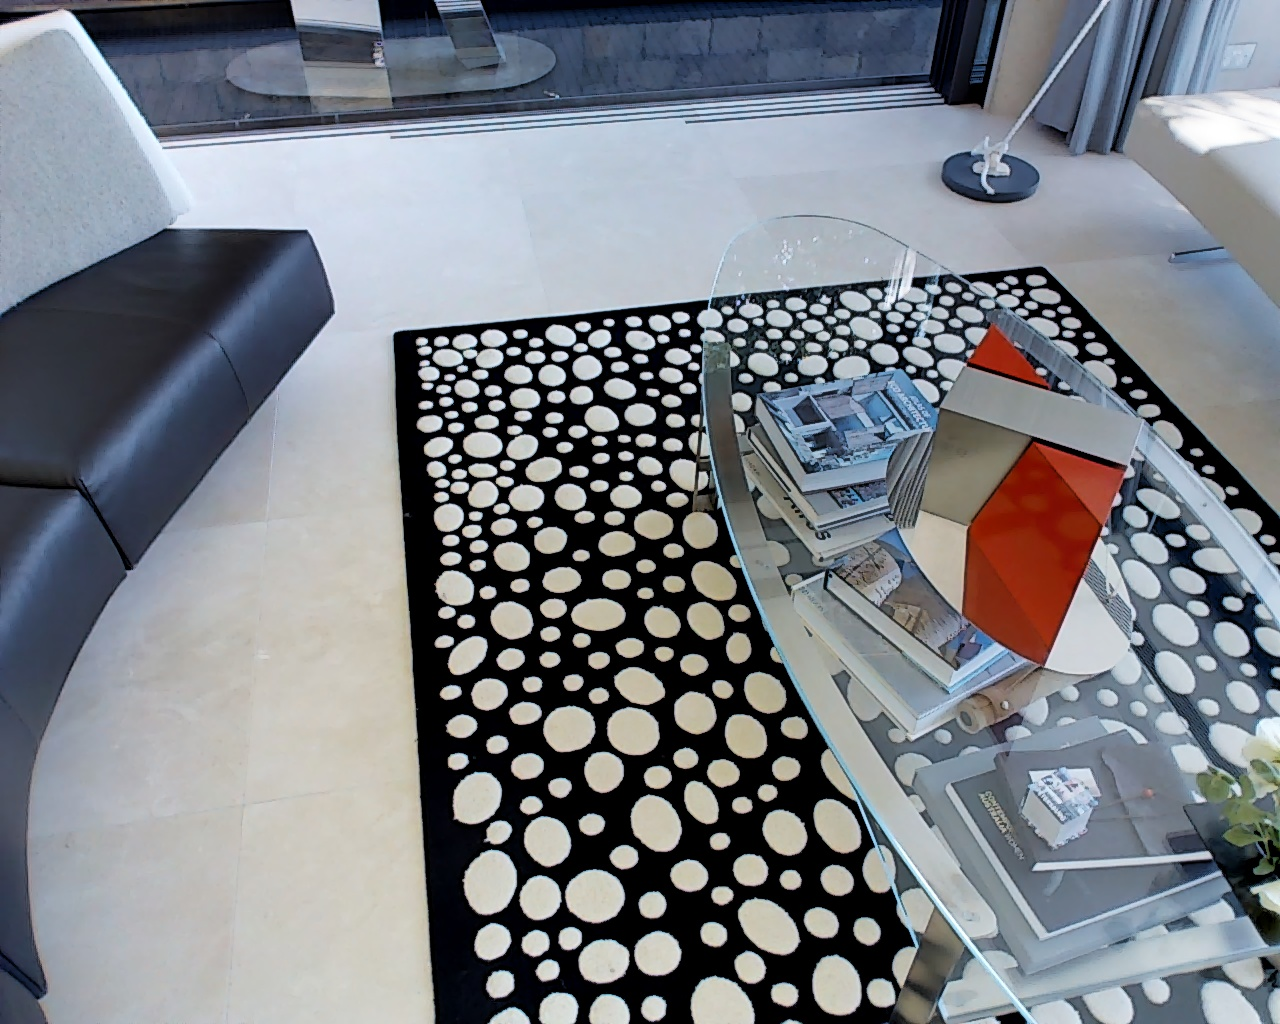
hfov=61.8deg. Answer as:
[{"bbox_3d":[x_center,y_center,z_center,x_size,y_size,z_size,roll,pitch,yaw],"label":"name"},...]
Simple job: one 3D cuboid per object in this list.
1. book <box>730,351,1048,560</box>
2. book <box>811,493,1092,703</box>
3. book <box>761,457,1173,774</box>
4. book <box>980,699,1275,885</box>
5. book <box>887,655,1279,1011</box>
[{"bbox_3d":[0.470,-0.120,2.100,0.500,0.180,0.320,-9,43,-10],"label":"book"},{"bbox_3d":[0.510,0.130,1.780,0.330,0.060,0.300,-20,46,-21],"label":"book"},{"bbox_3d":[0.540,0.150,1.820,0.520,0.140,0.400,-19,46,-21],"label":"book"},{"bbox_3d":[0.660,0.380,1.470,0.310,0.090,0.180,-7,43,-9],"label":"book"},{"bbox_3d":[0.620,0.440,1.520,0.390,0.210,0.370,-7,43,-9],"label":"book"}]
